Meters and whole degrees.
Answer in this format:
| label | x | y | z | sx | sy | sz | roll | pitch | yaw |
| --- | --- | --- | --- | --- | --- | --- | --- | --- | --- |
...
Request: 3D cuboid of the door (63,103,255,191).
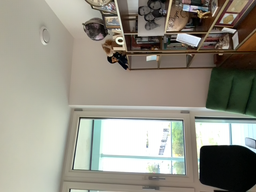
| label | x | y | z | sx | sy | sz | roll | pitch | yaw |
| --- | --- | --- | --- | --- | --- | --- | --- | --- | --- |
| door | 0.600 | 0.910 | 2.290 | 0.100 | 2.610 | 1.630 | 71 | -160 | -77 |
